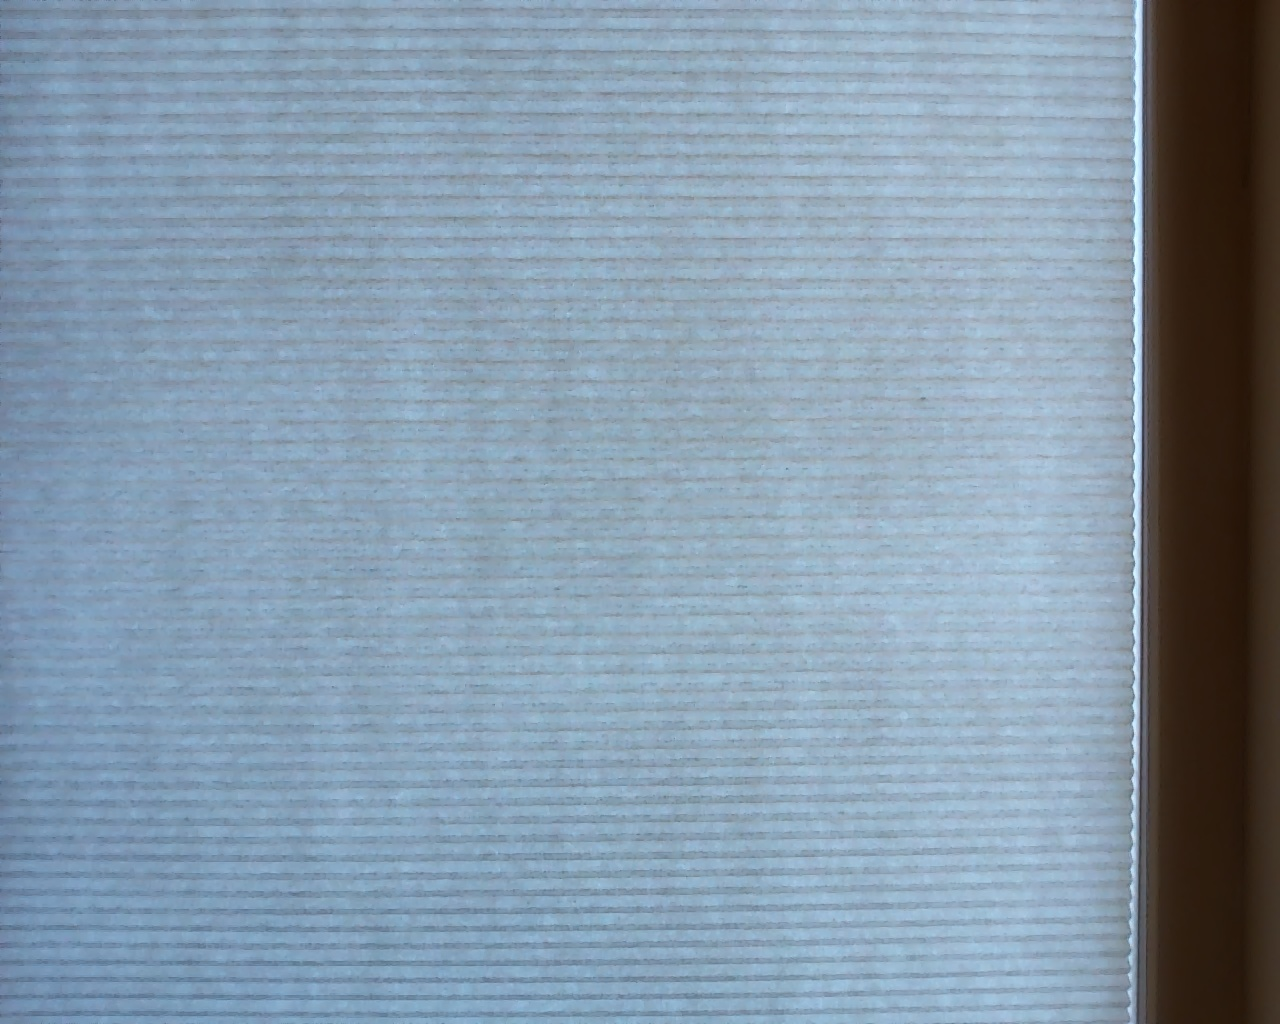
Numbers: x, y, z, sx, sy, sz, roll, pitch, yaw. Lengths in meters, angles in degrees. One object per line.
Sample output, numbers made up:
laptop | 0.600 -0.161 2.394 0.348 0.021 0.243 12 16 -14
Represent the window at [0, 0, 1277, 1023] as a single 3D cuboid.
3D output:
window | -0.090 0.000 1.010 1.320 1.950 0.100 0 2 -1
